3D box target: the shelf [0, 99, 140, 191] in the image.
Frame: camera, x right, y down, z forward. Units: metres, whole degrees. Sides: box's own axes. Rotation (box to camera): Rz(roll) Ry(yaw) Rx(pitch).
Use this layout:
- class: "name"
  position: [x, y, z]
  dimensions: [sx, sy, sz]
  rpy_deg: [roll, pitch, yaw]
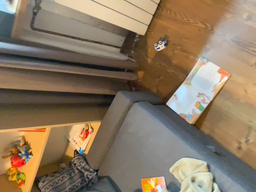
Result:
- class: "shelf"
  position: [-0.680, 0.350, 1.220]
  dimensions: [0.290, 1.710, 0.610]
  rpy_deg: [40, 114, 34]
